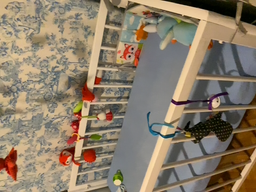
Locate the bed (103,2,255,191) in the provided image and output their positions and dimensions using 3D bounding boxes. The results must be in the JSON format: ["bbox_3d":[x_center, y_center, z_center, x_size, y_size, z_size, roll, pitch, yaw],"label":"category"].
[{"bbox_3d":[0.330,0.210,1.160,0.600,0.530,1.170,47,129,49],"label":"bed"}]
